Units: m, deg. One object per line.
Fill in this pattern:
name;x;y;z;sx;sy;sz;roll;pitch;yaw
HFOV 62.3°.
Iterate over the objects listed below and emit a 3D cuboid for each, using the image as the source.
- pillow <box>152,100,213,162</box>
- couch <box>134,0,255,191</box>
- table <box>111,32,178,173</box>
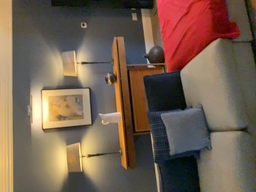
pillow;0.480;0.310;1.890;0.400;0.350;0.140;56;163;4
couch;0.590;-0.290;2.110;1.110;0.670;2.220;134;132;-75
table;0.220;0.070;3.640;0.530;0.850;2.230;134;132;-75
